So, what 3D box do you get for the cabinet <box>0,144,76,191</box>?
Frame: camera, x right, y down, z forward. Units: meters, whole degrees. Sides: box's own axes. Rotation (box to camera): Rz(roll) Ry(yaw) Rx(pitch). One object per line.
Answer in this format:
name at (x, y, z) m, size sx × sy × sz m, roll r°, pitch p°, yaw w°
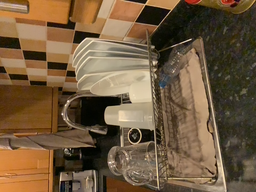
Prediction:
cabinet at (-0.990, 0.830, 2.250) m, size 0.330 × 0.820 × 0.570 m, roll 142°, pitch 127°, yaw -64°
